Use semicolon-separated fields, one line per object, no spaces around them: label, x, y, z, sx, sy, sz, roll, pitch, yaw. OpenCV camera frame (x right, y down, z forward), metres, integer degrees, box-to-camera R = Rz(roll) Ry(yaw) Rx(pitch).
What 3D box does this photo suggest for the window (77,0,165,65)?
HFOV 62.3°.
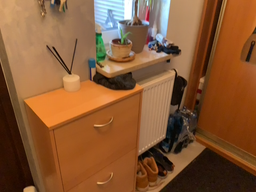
window;-0.010;-0.760;1.130;0.530;1.080;0.180;-24;39;-37
